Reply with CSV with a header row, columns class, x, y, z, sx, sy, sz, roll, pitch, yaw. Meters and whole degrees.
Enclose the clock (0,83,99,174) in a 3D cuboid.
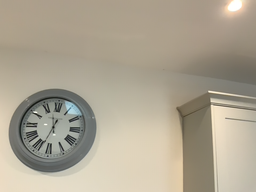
class,x,y,z,sx,sy,sz,roll,pitch,yaw
clock,-0.470,0.200,1.350,0.510,0.520,0.050,8,-19,-9
